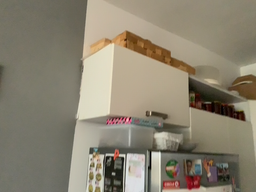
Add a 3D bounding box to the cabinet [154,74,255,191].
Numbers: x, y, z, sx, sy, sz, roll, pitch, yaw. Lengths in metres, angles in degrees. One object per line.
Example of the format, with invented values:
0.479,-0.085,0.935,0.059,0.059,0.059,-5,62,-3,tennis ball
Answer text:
0.640,0.410,1.660,0.890,0.930,0.310,13,-17,-36,cabinet
